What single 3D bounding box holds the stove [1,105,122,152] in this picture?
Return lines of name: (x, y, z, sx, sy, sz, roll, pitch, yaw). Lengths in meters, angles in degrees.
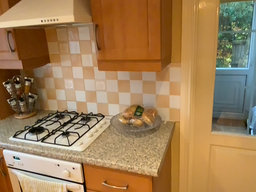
stove: (-0.440, 0.200, 1.550, 0.620, 0.020, 0.590, 3, 19, 19)
